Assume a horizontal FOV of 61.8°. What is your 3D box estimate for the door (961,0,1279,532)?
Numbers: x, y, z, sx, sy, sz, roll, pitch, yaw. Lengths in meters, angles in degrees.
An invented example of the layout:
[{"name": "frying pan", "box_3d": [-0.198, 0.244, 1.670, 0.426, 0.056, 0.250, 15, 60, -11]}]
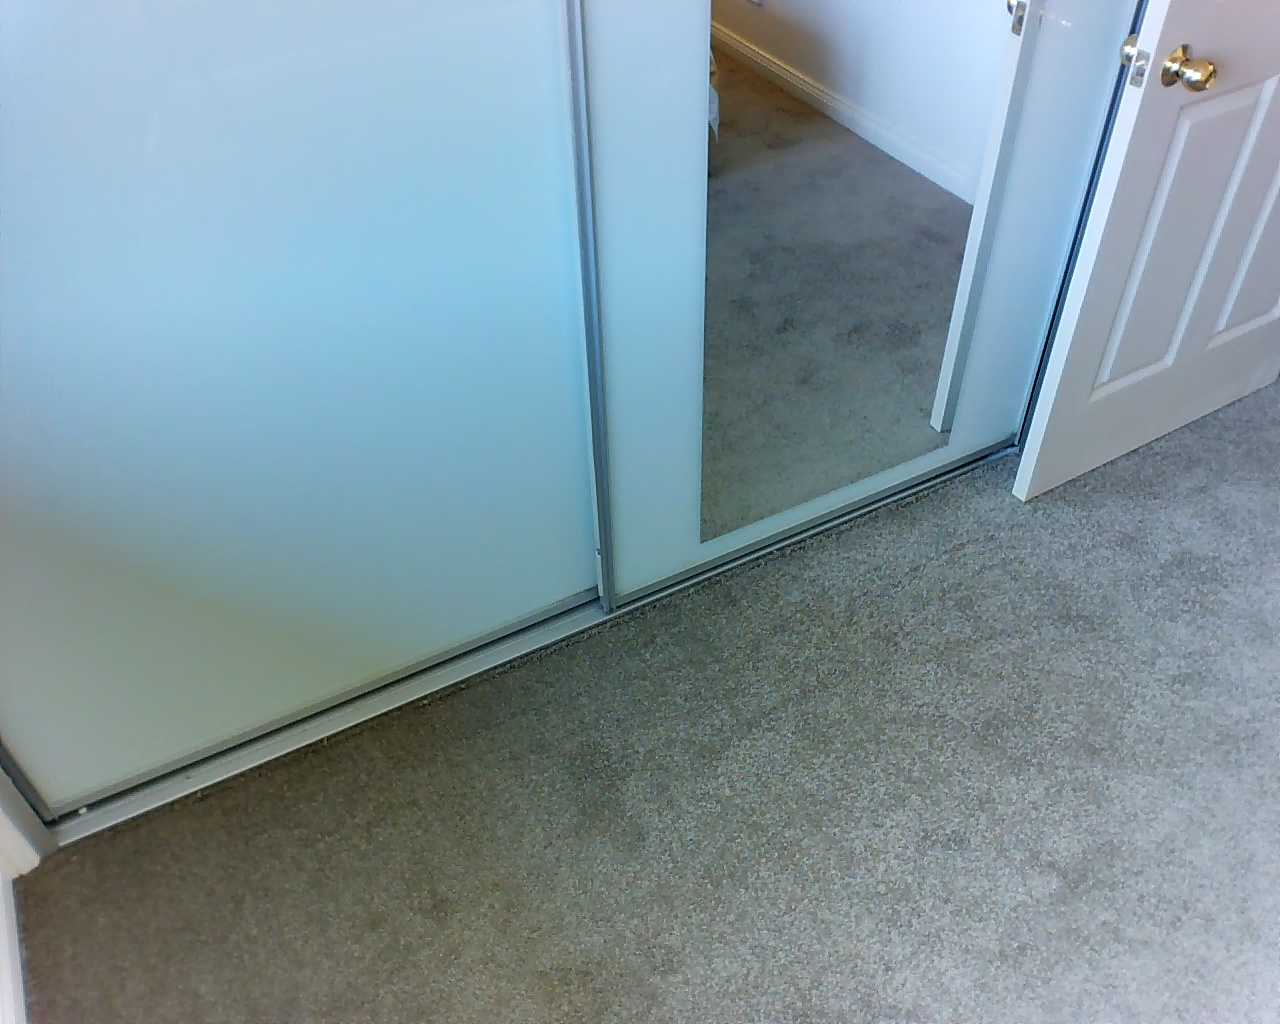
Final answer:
[{"name": "door", "box_3d": [1.110, -0.940, 1.710, 0.860, 2.080, 0.230, -21, 46, -20]}]
